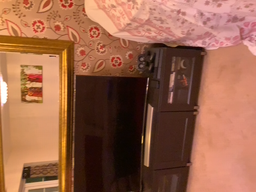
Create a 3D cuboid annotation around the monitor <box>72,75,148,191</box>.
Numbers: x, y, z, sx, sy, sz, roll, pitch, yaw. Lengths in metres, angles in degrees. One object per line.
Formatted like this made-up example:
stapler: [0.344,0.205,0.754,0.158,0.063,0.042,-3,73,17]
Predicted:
monitor: [-0.190,0.400,2.150,0.090,0.710,1.200,-150,62,-67]
